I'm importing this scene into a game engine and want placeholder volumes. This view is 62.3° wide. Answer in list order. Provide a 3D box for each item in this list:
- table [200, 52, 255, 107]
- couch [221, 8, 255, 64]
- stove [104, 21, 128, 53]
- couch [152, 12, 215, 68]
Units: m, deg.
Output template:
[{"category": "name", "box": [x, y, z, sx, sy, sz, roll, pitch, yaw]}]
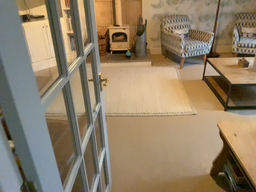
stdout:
[{"category": "table", "box": [1.710, -0.280, 3.030, 1.000, 0.390, 1.000, -1, 29, 1]}, {"category": "couch", "box": [2.350, -1.220, 4.230, 0.730, 0.870, 0.900, 9, 30, 17]}, {"category": "stove", "box": [-0.230, -1.250, 4.490, 0.440, 0.550, 0.480, -1, 29, 1]}, {"category": "couch", "box": [1.040, -1.170, 4.260, 0.720, 0.830, 0.970, -13, 31, -20]}]
